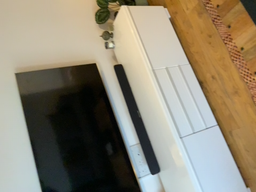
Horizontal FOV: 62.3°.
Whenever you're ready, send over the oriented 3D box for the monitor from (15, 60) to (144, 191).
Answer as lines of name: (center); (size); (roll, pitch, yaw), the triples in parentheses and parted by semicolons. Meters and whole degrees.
monitor: (-0.390, 0.300, 1.690); (0.060, 0.700, 1.250); (-47, 59, 58)
